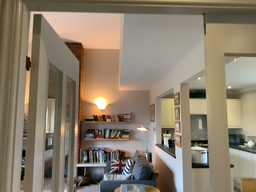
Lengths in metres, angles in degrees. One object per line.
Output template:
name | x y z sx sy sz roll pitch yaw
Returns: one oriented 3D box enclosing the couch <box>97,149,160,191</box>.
couch | -0.030 1.510 3.880 0.890 0.810 1.750 0 -6 -2
